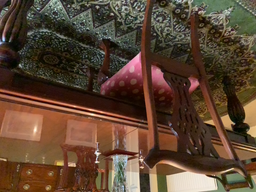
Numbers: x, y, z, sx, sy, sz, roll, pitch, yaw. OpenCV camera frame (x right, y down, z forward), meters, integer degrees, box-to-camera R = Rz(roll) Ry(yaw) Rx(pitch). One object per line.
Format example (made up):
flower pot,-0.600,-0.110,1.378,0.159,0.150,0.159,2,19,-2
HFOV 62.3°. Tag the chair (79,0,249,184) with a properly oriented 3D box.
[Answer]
chair,0.120,-0.040,1.240,0.590,0.960,0.570,11,150,-21
